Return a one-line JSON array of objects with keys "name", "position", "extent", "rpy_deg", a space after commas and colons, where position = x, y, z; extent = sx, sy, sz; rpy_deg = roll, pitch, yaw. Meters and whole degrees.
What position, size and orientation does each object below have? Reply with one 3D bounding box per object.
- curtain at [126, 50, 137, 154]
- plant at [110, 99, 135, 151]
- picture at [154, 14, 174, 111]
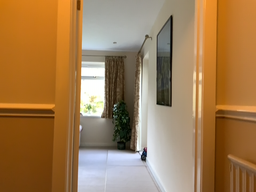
[{"name": "curtain", "position": [0.080, 0.120, 4.750], "extent": [0.180, 2.230, 0.370], "rpy_deg": [2, -1, 1]}, {"name": "plant", "position": [-0.120, 0.660, 5.000], "extent": [0.490, 1.140, 0.520], "rpy_deg": [2, -1, 5]}, {"name": "picture", "position": [0.440, -0.350, 2.700], "extent": [0.020, 1.050, 0.840], "rpy_deg": [2, -1, -4]}]
